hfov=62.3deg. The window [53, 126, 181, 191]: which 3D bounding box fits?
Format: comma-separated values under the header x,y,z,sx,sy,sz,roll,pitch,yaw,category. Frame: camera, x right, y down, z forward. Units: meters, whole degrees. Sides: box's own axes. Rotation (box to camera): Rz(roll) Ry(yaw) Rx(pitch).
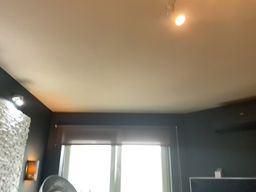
x,y,z,sx,sy,sz,roll,pitch,yaw,category
-0.160,1.370,3.440,2.000,1.690,0.190,2,-20,-2,window
